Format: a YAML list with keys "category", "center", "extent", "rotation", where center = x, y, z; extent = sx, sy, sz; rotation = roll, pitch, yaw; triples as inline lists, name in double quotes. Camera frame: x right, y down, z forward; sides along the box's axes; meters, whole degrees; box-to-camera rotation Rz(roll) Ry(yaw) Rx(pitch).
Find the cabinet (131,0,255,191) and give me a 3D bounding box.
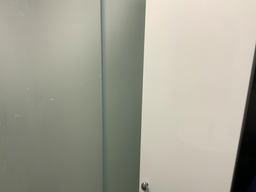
- category: "cabinet"
  center: [0.240, 0.490, 0.910]
  extent: [0.330, 1.830, 0.340]
  rotation: [12, 19, 31]
